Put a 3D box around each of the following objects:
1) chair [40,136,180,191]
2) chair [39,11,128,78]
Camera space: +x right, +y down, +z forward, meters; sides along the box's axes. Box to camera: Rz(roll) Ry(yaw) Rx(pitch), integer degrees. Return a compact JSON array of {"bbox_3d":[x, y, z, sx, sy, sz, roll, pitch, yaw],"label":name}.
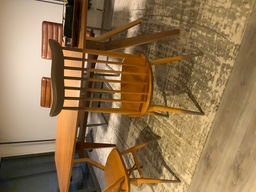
[{"bbox_3d":[-0.160,0.710,1.670,0.430,0.940,0.560,-64,36,41],"label":"chair"},{"bbox_3d":[-0.580,-0.620,2.600,0.620,0.890,0.580,47,131,54],"label":"chair"}]
